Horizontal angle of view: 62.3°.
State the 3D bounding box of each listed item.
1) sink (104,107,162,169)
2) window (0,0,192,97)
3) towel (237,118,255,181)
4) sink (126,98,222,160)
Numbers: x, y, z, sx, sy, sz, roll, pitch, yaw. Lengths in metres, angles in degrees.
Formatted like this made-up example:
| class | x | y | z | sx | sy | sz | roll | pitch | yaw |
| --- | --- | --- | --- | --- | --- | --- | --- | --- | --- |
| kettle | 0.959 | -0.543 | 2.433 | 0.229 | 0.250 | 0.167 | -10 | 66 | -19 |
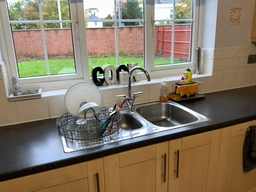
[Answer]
| class | x | y | z | sx | sy | sz | roll | pitch | yaw |
| --- | --- | --- | --- | --- | --- | --- | --- | --- | --- |
| sink | 0.010 | 0.260 | 1.500 | 0.190 | 0.190 | 0.530 | -8 | 18 | -23 |
| window | -0.150 | -0.480 | 1.820 | 1.650 | 0.770 | 0.070 | -9 | 18 | -23 |
| towel | 0.910 | 0.380 | 1.530 | 0.170 | 0.430 | 0.080 | -9 | 18 | -24 |
| sink | 0.320 | 0.210 | 1.630 | 0.490 | 0.190 | 0.530 | -8 | 18 | -23 |
